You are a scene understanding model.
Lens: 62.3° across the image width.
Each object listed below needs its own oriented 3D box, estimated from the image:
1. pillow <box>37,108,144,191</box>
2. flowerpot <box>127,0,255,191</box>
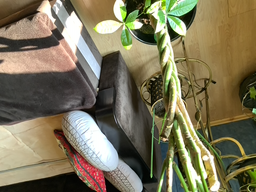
[{"bbox_3d":[-0.160,0.400,1.360,0.260,0.530,0.860,-12,168,15],"label":"pillow"},{"bbox_3d":[0.170,-0.080,0.720,0.280,1.420,0.280,-11,134,10],"label":"flowerpot"}]
